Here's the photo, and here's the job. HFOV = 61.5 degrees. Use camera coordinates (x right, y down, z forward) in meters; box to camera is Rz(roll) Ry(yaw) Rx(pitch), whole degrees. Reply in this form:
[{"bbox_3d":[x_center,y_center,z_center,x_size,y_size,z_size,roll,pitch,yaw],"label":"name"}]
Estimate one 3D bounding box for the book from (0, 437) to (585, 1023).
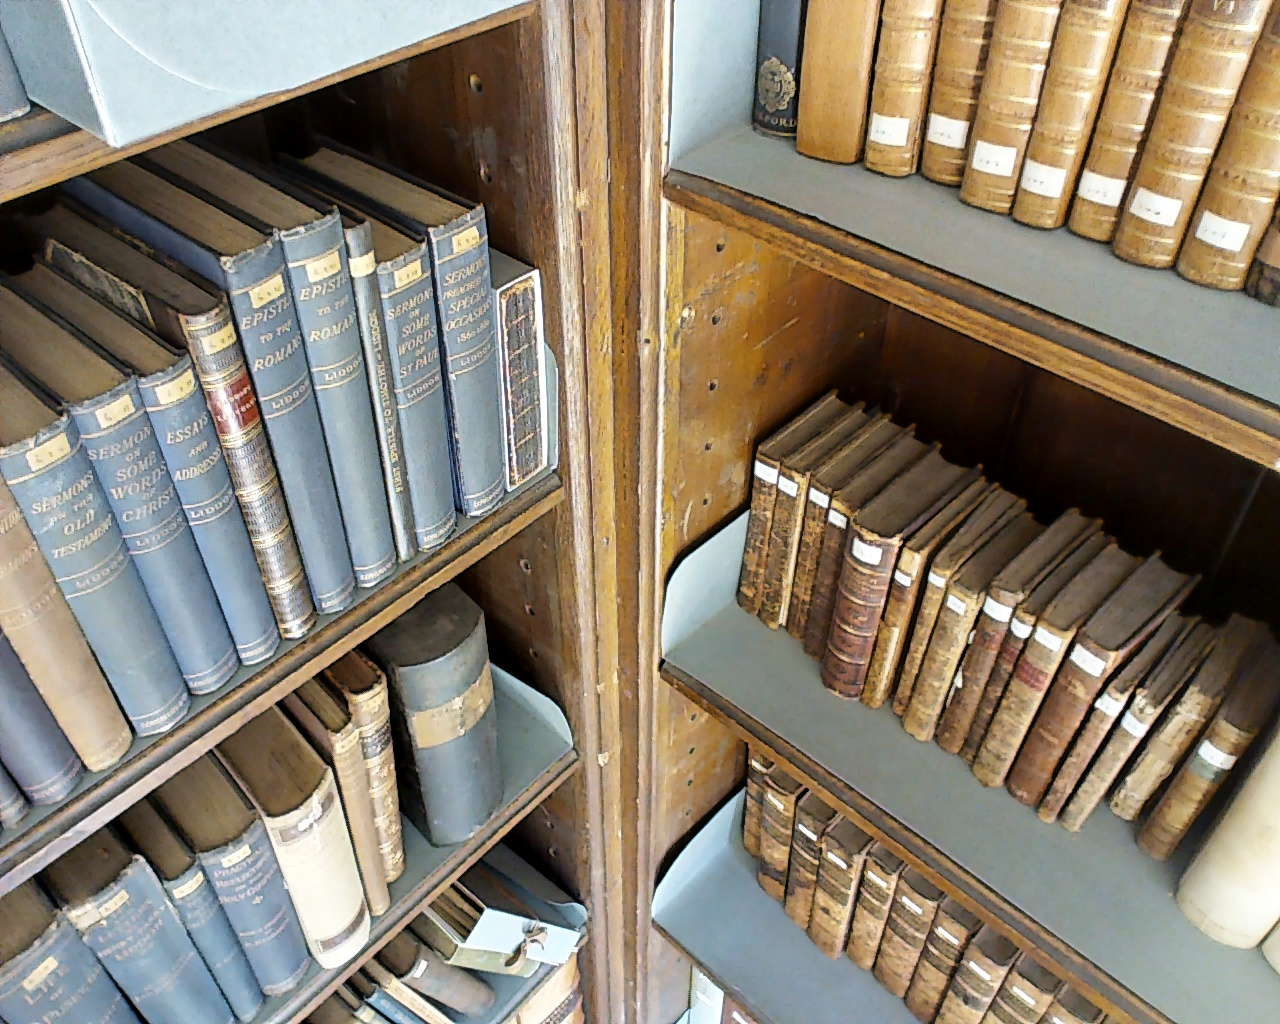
[{"bbox_3d":[-0.380,0.280,0.650,0.200,0.260,0.780,30,50,30],"label":"book"}]
